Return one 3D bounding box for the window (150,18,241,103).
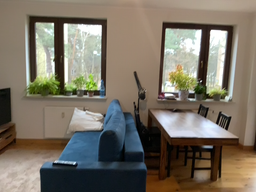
[{"bbox_3d":[1.310,-0.680,4.250,1.610,1.560,0.240,3,9,-1],"label":"window"}]

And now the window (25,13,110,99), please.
[{"bbox_3d":[-1.130,-0.720,3.970,1.510,1.500,0.110,3,9,0],"label":"window"}]

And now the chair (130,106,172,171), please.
[{"bbox_3d":[0.320,0.620,3.150,0.510,0.850,0.390,2,9,-4],"label":"chair"}]
